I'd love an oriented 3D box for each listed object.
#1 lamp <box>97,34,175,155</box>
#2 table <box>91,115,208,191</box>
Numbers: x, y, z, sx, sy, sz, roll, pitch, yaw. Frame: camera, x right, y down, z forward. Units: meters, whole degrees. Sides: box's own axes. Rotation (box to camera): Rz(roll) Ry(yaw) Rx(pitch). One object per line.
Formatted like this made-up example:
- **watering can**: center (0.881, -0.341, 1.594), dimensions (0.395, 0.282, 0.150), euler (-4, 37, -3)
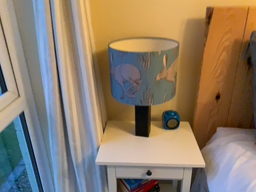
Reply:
- **lamp**: center (0.040, -0.020, 1.000), dimensions (0.280, 0.480, 0.320), euler (-1, 24, 3)
- **table**: center (0.110, 0.510, 1.230), dimensions (0.500, 0.690, 0.400), euler (0, 24, 4)
